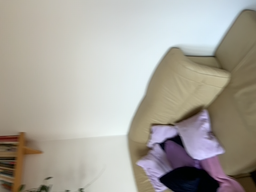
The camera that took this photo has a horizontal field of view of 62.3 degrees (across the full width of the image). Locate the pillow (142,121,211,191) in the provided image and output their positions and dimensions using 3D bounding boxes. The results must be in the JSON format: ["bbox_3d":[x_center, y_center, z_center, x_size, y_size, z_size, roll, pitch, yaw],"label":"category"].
[{"bbox_3d":[0.390,0.600,1.920,0.530,0.280,0.520,109,154,-49],"label":"pillow"}]

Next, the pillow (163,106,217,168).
[{"bbox_3d":[0.480,0.340,1.730,0.400,0.160,0.350,111,153,-51],"label":"pillow"}]
